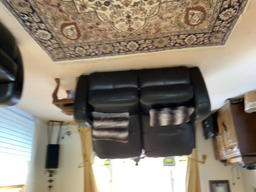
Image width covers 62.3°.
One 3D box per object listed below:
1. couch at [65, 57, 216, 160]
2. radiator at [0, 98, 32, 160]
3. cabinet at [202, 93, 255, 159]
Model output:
[{"bbox_3d":[0.130,0.260,2.800,1.510,1.010,1.090,-4,160,3],"label":"couch"},{"bbox_3d":[-2.000,0.550,3.430,0.120,0.860,1.360,-4,160,4],"label":"radiator"},{"bbox_3d":[1.970,0.670,4.180,0.500,0.990,1.440,-4,160,4],"label":"cabinet"}]
